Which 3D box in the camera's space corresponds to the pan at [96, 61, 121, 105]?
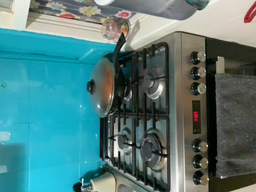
[{"bbox_3d":[-0.110,-0.060,1.140,0.200,0.060,0.210,-9,82,61],"label":"pan"}]
